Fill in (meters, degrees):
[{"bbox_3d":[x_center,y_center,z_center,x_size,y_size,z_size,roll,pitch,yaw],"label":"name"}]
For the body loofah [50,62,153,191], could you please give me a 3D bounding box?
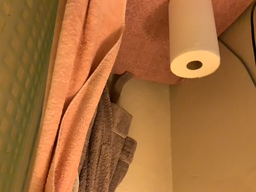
[{"bbox_3d":[-0.100,0.360,0.700,0.310,0.930,0.190,11,154,-16],"label":"body loofah"}]
